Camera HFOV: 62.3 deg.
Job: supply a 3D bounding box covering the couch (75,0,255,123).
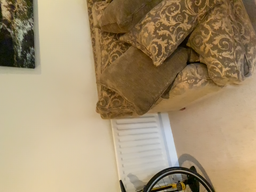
[{"bbox_3d":[0.130,-0.940,1.760,1.110,0.820,2.070,-36,59,55],"label":"couch"}]
